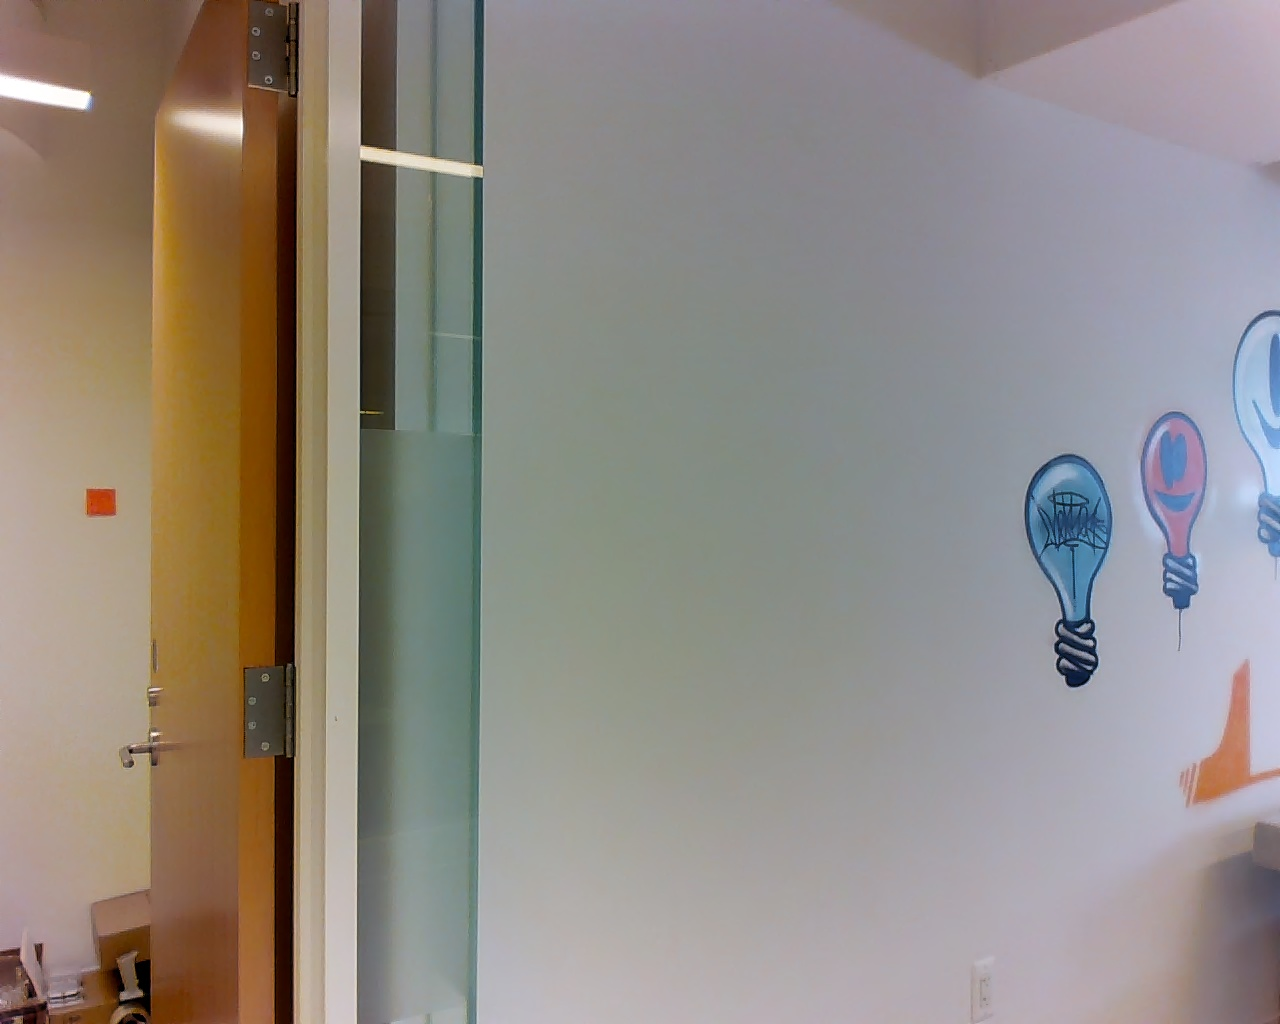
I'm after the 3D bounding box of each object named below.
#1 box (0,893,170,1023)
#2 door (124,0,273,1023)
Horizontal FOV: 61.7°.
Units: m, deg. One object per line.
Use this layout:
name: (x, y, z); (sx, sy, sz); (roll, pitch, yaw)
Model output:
box: (-1.610, 1.280, 2.850); (0.610, 0.320, 0.320); (0, 0, -34)
door: (-0.760, 0.330, 1.780); (0.060, 2.240, 0.890); (0, 0, -33)
